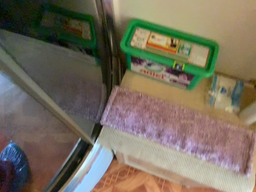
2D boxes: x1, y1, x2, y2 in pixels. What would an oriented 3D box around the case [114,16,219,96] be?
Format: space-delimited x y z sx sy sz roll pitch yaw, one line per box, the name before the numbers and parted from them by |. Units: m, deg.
case | 0.100 -0.110 0.620 0.260 0.140 0.090 22 71 9
